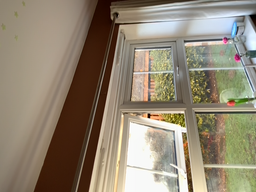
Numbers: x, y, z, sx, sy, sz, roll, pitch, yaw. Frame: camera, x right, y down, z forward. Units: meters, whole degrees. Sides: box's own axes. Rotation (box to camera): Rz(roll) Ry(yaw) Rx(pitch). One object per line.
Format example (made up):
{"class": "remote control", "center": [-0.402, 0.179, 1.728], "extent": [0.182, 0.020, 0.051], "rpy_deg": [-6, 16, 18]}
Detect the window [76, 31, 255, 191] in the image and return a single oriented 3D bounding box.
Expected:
{"class": "window", "center": [0.420, 0.090, 1.610], "extent": [0.180, 1.310, 1.720], "rpy_deg": [80, -168, -47]}
